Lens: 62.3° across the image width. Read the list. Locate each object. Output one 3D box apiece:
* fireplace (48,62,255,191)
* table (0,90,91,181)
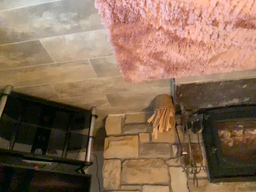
[{"bbox_3d":[0.800,0.490,1.680,2.360,0.980,1.110,-4,146,7],"label":"fireplace"},{"bbox_3d":[-0.970,0.420,2.010,0.980,0.500,0.730,18,143,-24],"label":"table"}]
